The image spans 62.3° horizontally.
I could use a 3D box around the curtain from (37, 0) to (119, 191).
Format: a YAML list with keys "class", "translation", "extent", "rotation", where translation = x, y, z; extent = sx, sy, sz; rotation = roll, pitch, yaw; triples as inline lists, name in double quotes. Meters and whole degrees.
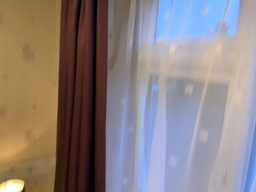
- class: "curtain"
  translation: [-0.280, 0.070, 1.050]
  extent: [0.190, 1.540, 0.480]
  rotation: [-4, 13, -35]
